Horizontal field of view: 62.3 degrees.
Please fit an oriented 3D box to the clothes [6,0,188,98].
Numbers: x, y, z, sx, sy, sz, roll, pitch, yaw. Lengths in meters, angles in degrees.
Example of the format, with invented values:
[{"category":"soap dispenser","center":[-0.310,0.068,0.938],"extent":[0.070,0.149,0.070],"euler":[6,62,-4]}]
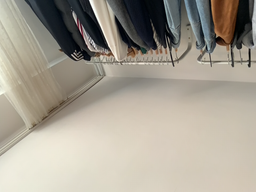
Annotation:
[{"category":"clothes","center":[-0.220,-0.660,1.340],"extent":[0.870,1.060,0.670],"euler":[8,-143,37]}]
